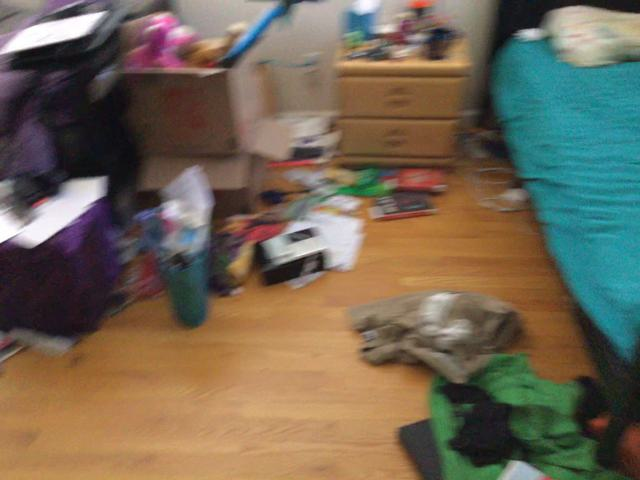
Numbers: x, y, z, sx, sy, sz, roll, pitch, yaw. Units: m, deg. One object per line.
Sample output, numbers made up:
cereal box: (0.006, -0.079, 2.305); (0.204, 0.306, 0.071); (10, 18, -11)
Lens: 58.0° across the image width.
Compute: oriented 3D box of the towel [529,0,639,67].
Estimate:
towel: (1.260, -0.880, 2.430); (0.640, 0.190, 0.340); (2, 36, 6)

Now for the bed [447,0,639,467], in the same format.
bed: (1.140, -0.410, 1.830); (1.220, 0.910, 1.970); (2, 36, 6)

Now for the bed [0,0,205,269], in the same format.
bed: (-1.670, -0.640, 2.410); (1.990, 0.930, 1.160); (2, 36, 6)
